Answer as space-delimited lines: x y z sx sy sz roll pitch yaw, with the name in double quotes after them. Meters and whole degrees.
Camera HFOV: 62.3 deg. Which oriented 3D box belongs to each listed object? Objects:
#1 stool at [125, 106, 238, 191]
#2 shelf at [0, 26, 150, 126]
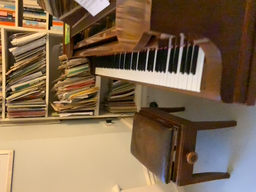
0.330 0.320 1.470 0.540 0.500 0.400 -163 75 -64 "stool"
-0.820 -0.190 2.100 0.440 2.050 0.830 -157 69 -63 "shelf"
